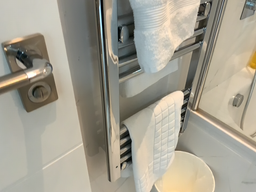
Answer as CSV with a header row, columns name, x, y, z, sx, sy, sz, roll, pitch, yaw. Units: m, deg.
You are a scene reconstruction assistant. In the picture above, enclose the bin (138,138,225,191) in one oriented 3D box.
name,x,y,z,sx,sy,sz,roll,pitch,yaw
bin,0.250,0.440,1.060,0.260,0.240,0.290,-27,46,-31
